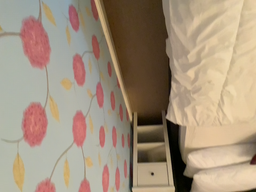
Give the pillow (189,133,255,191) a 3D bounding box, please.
[{"bbox_3d":[0.890,0.610,1.790,0.640,0.480,0.290,-7,-175,10],"label":"pillow"}]
